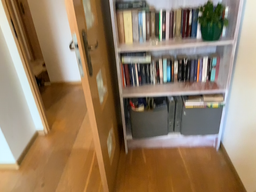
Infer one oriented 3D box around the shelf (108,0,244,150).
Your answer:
[{"bbox_3d":[0.330,-0.370,1.660,0.850,1.790,0.330,-2,29,4],"label":"shelf"}]
